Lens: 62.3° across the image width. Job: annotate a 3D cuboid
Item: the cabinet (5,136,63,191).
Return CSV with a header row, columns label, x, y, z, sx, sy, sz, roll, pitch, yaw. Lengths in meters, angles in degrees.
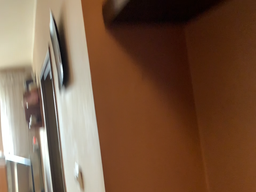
label,x,y,z,sx,sy,sz,roll,pitch,yaw
cabinet,-1.490,1.200,3.370,0.730,1.010,0.450,-9,-3,34
